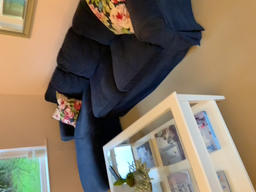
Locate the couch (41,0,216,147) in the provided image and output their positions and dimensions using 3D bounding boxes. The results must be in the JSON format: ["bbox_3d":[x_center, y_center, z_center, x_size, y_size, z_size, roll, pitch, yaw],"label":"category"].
[{"bbox_3d":[-0.380,-0.300,2.570,2.550,0.780,0.990,-46,51,47],"label":"couch"}]

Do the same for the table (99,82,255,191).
[{"bbox_3d":[0.290,0.560,1.720,1.150,0.510,0.830,-46,51,47],"label":"table"}]

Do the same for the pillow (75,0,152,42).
[{"bbox_3d":[-0.100,-0.710,1.800,0.440,0.490,0.200,17,77,29],"label":"pillow"}]

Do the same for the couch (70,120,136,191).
[{"bbox_3d":[-0.380,0.820,2.790,0.730,0.480,0.770,-46,51,47],"label":"couch"}]
